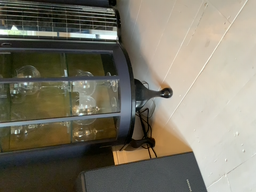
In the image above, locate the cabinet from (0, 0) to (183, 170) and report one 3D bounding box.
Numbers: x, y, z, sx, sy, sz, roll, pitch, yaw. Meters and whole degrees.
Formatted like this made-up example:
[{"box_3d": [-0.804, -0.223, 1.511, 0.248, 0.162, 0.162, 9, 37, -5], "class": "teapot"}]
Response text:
[{"box_3d": [-0.350, -0.240, 0.960, 0.360, 0.830, 0.980, 122, 139, -56], "class": "cabinet"}]
